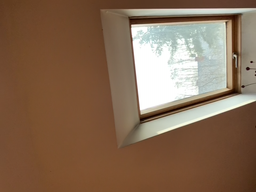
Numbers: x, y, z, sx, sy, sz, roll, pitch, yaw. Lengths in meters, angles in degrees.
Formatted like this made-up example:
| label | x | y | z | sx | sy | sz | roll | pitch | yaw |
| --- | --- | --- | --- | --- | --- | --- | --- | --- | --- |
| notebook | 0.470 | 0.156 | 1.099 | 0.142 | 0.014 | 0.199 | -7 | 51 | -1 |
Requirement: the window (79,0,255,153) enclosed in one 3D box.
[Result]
| label | x | y | z | sx | sy | sz | roll | pitch | yaw |
| --- | --- | --- | --- | --- | --- | --- | --- | --- | --- |
| window | 0.420 | -0.220 | 1.550 | 1.360 | 0.410 | 0.770 | -12 | -79 | -29 |
